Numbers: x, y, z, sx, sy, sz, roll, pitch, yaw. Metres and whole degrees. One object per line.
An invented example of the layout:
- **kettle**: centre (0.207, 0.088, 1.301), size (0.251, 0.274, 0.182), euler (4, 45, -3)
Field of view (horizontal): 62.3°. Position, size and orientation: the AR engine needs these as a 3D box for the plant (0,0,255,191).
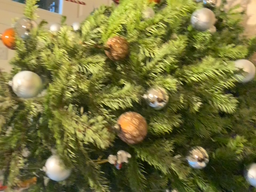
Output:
- **plant**: centre (-0.060, -0.040, 0.980), size (1.690, 1.730, 1.730), euler (6, 92, 52)
